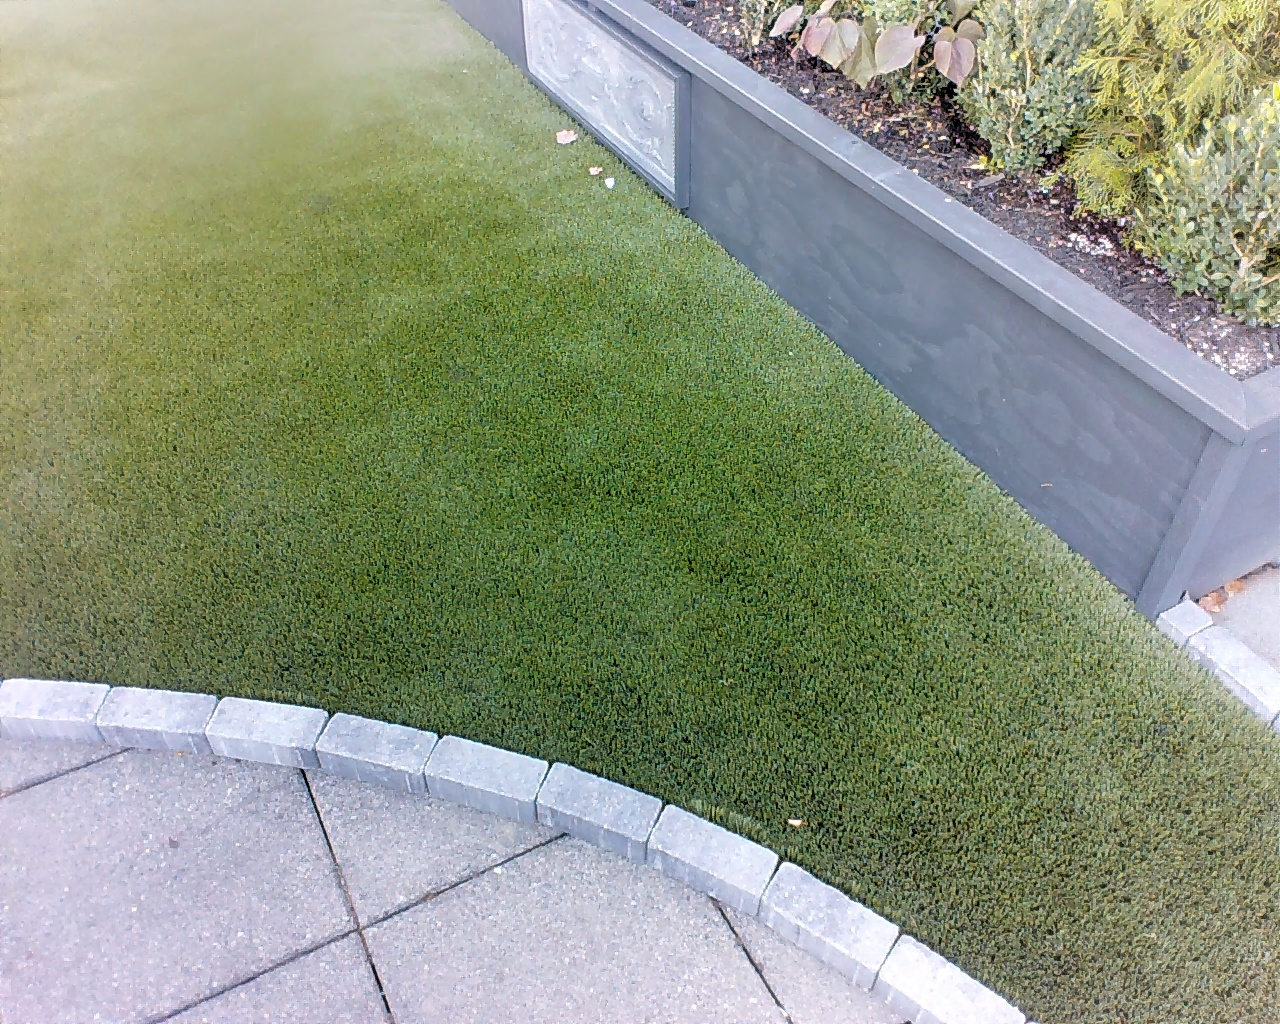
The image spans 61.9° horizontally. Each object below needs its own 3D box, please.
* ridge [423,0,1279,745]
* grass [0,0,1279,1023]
[{"bbox_3d":[0.340,-1.380,3.180,1.040,0.550,4.530,-19,47,-19],"label":"ridge"},{"bbox_3d":[-1.000,-0.650,2.700,2.710,0.130,5.630,-19,47,-19],"label":"grass"}]
